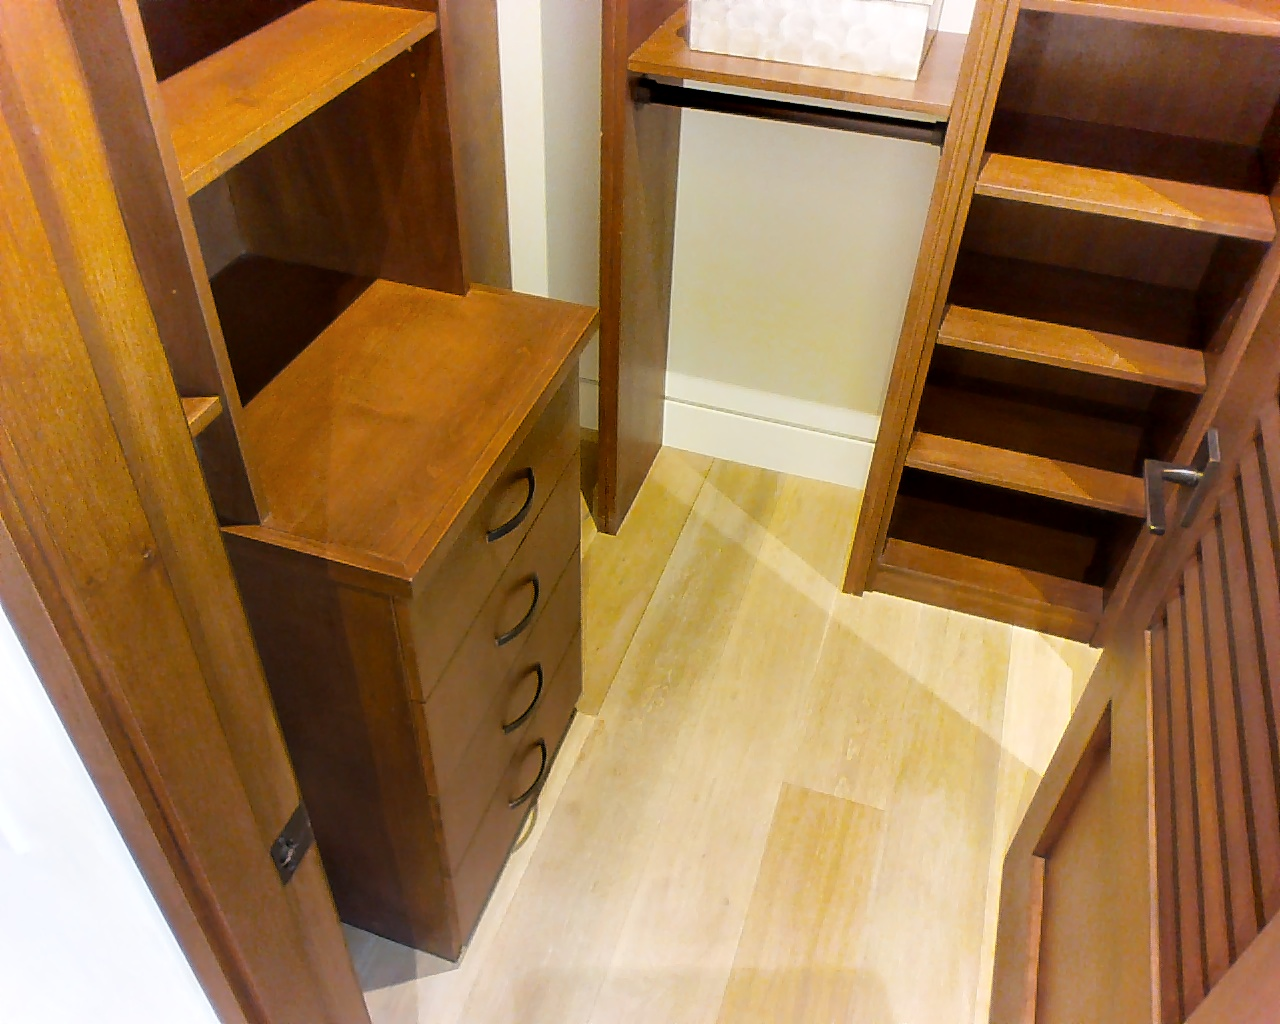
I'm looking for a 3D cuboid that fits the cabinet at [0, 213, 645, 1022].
[{"bbox_3d":[-0.390,0.170,1.660,0.600,0.960,0.650,13,43,13],"label":"cabinet"}]
